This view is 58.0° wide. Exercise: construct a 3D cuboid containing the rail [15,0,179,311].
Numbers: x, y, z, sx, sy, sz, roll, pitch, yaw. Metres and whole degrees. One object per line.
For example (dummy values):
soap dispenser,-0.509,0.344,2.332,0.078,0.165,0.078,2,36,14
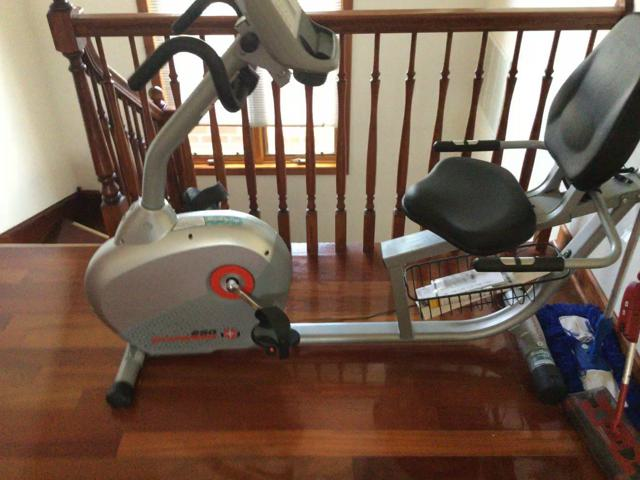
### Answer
rail,-0.800,-0.370,2.270,0.140,1.320,0.490,-1,37,2
